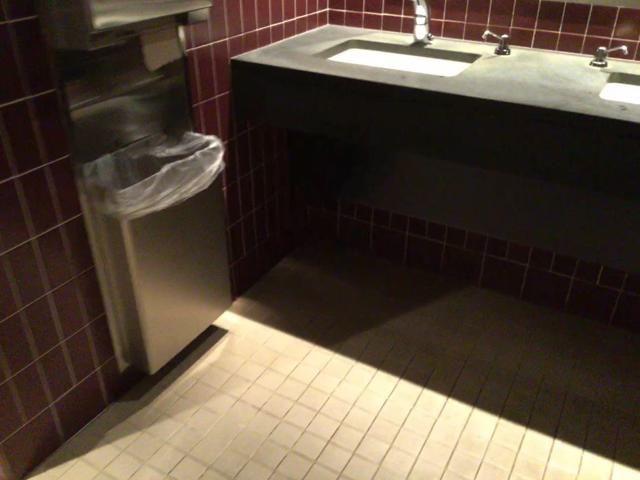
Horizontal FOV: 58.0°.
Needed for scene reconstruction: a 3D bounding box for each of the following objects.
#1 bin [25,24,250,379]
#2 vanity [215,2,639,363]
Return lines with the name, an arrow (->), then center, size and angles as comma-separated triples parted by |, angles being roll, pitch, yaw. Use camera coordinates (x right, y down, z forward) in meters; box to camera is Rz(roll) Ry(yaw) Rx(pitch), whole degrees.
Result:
bin -> -0.450, -0.110, 1.630 | 0.250, 0.860, 0.450 | 16, 34, 24
vanity -> 0.580, -0.240, 1.780 | 1.690, 0.710, 0.630 | 16, 34, 24
